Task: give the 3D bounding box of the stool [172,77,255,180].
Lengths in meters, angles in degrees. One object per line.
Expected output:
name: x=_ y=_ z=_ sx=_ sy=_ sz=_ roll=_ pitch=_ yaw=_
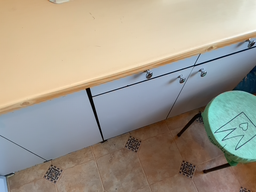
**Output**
stool: x=0.510 y=0.200 z=1.130 sx=0.340 sy=0.470 sz=0.330 roll=-18 pitch=67 yaw=-10
